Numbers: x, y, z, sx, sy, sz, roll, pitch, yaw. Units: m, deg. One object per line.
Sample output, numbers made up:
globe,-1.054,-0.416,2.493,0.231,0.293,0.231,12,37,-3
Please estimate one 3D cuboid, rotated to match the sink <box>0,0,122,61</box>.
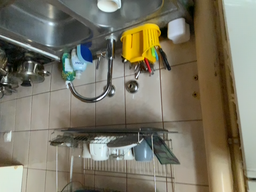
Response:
sink,-0.370,-0.390,1.040,0.410,0.180,0.600,-8,166,32
